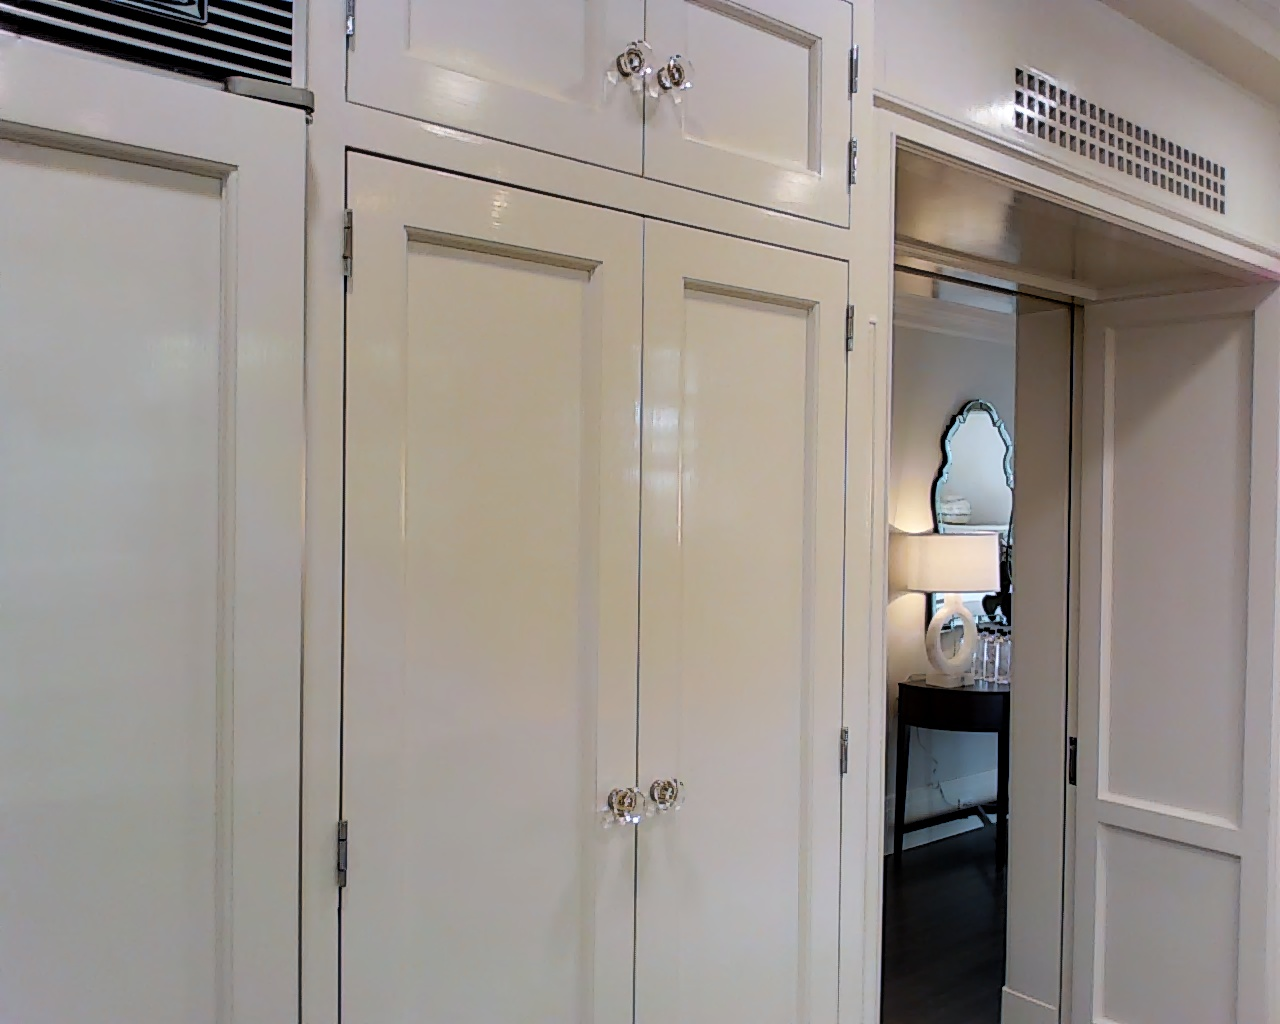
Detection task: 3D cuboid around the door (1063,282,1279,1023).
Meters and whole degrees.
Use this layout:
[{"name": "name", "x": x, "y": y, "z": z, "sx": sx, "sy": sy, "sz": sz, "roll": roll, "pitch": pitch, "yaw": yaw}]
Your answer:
[{"name": "door", "x": 1.250, "y": 0.510, "z": 2.520, "sx": 0.060, "sy": 2.020, "sz": 0.490, "roll": 0, "pitch": 1, "yaw": -38}]
